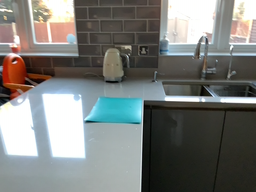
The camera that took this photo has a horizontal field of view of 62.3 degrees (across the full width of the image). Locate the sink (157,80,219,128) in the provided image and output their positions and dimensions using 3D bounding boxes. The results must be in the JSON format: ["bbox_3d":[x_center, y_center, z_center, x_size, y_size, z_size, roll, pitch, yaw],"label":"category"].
[{"bbox_3d":[0.420,0.040,1.610,0.370,0.230,0.400,1,18,4],"label":"sink"}]

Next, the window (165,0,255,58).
[{"bbox_3d":[1.190,-0.850,1.890,1.650,1.000,0.100,1,18,3],"label":"window"}]

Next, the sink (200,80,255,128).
[{"bbox_3d":[0.780,0.040,1.580,0.360,0.230,0.400,1,18,4],"label":"sink"}]
